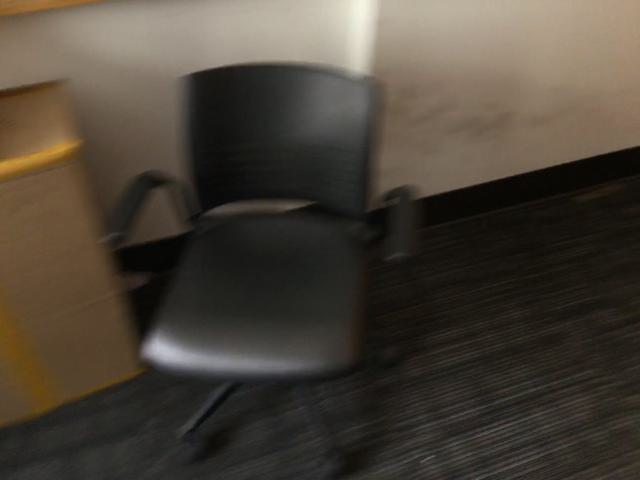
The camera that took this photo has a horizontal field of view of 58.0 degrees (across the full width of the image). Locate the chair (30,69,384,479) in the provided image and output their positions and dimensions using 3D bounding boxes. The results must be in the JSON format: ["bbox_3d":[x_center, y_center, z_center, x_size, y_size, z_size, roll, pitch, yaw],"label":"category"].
[{"bbox_3d":[-0.140,0.090,1.310,0.530,0.750,0.570,1,40,4],"label":"chair"}]
